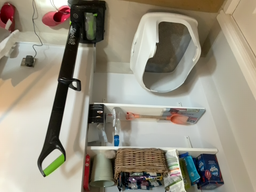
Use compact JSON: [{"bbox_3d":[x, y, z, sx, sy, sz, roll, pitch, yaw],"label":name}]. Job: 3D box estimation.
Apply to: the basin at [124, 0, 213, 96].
[{"bbox_3d":[0.240,-0.350,1.610,0.450,0.400,0.590,3,144,-9],"label":"basin"}]
